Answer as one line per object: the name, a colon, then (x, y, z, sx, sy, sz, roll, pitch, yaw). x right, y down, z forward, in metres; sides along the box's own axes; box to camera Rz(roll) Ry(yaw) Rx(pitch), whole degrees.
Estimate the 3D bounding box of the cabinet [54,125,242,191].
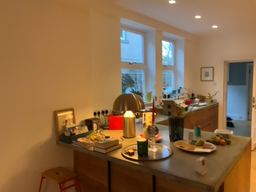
cabinet: (0.060, 0.930, 2.230, 1.910, 0.910, 0.580, 3, 6, 37)
